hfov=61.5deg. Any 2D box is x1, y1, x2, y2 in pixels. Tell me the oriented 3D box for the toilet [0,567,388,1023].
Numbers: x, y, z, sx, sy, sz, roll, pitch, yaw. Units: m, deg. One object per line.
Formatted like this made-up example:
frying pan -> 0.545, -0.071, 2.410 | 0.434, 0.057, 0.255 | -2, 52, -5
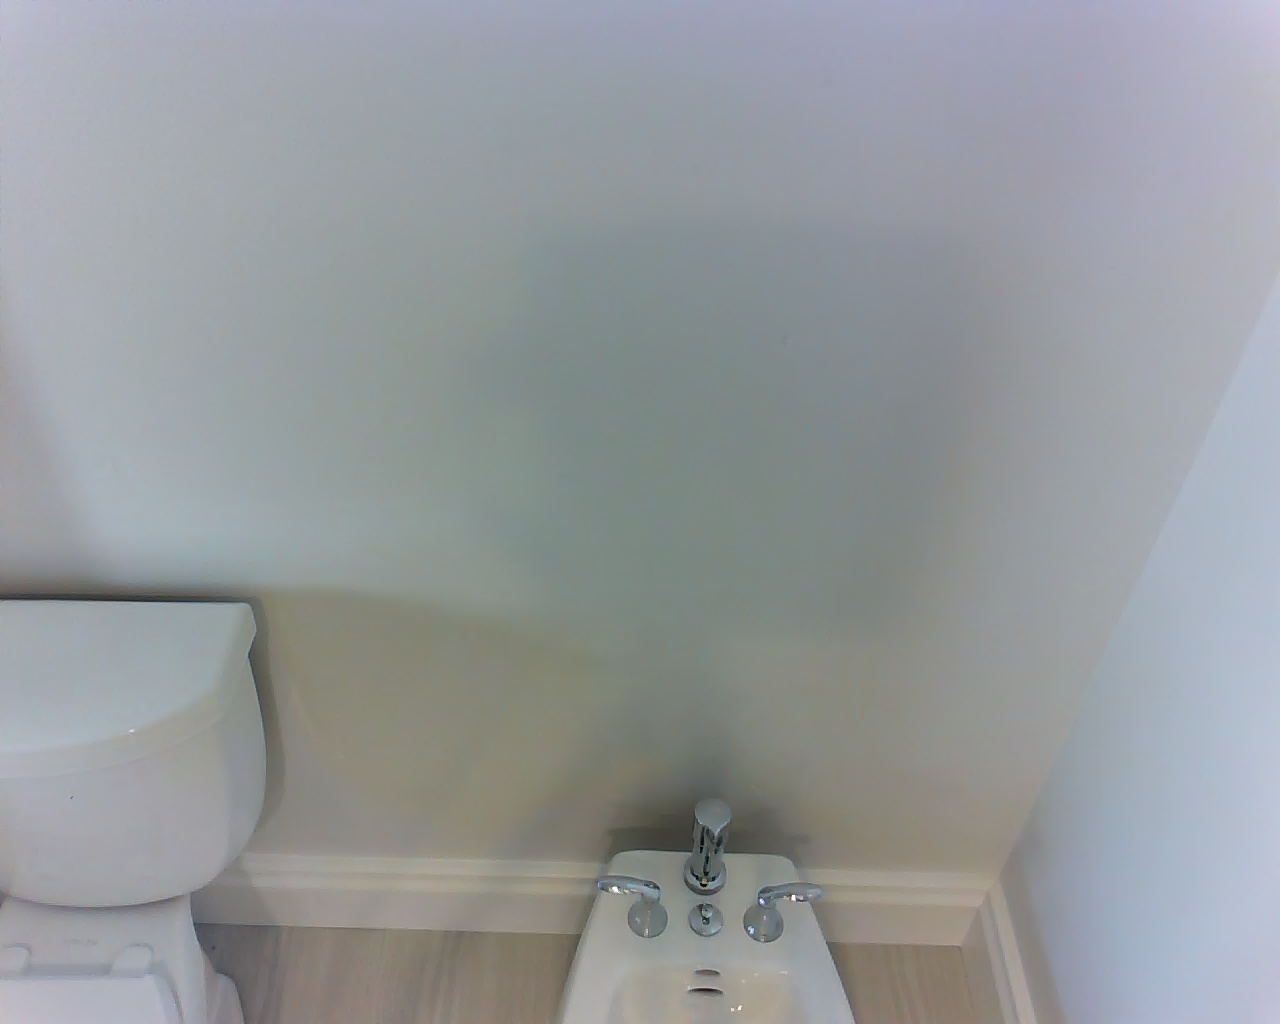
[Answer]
toilet -> -0.640, 0.630, 1.170 | 0.480, 0.840, 0.770 | 0, 42, -1
